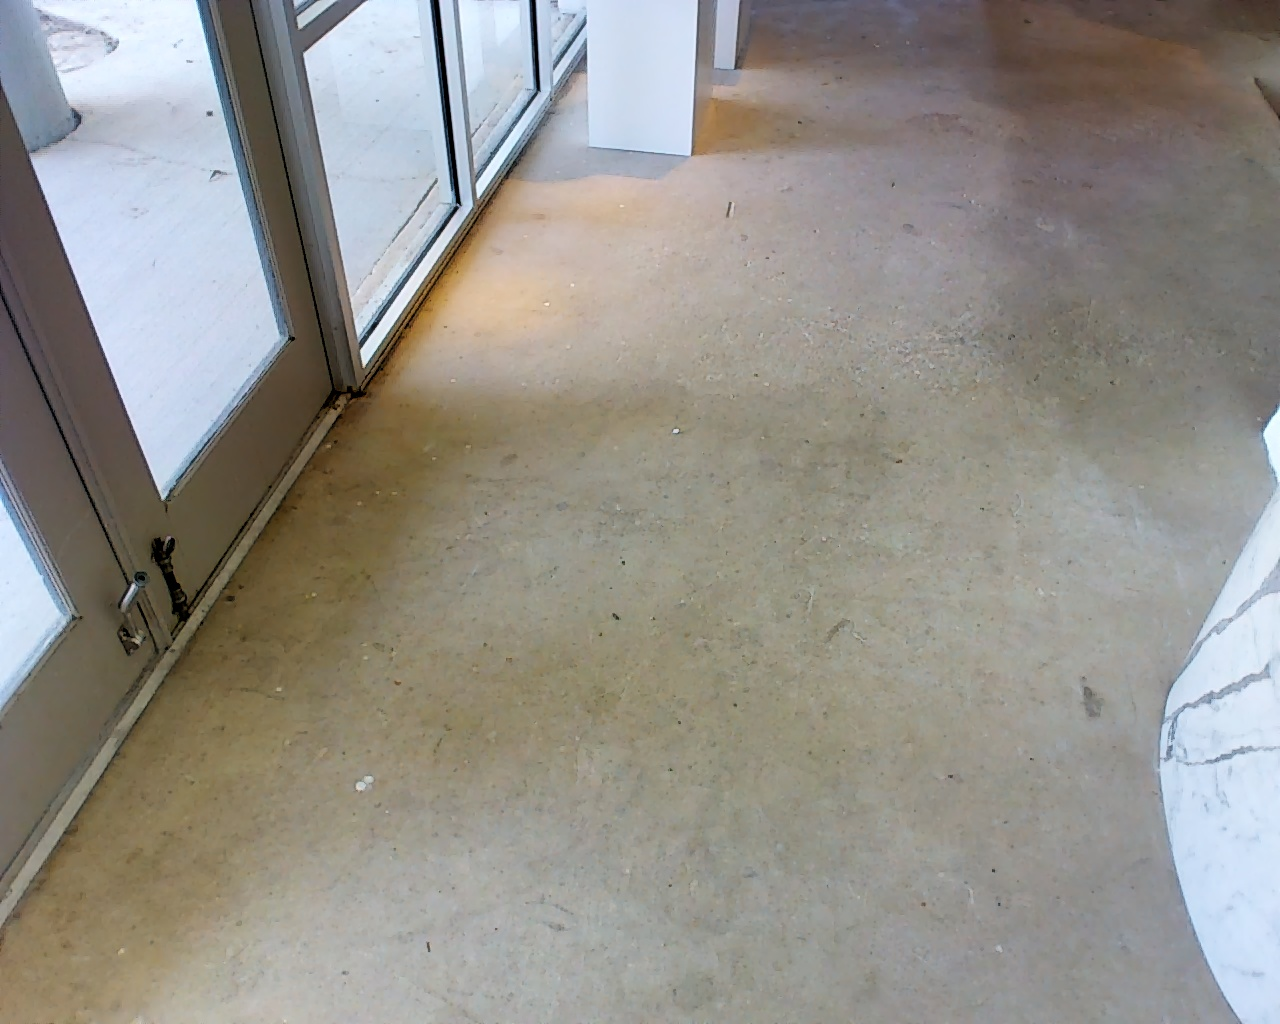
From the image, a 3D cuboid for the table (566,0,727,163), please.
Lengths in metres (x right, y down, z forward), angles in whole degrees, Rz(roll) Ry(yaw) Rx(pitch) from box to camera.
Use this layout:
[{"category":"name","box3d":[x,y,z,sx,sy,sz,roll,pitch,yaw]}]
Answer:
[{"category":"table","box3d":[0.040,-1.750,3.340,0.420,1.100,0.550,9,43,8]}]
